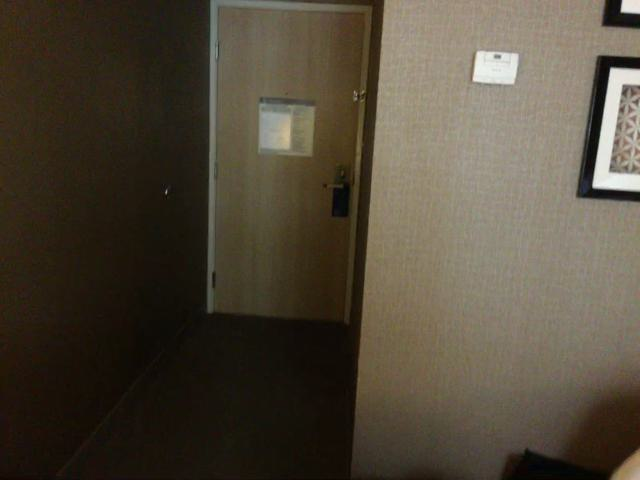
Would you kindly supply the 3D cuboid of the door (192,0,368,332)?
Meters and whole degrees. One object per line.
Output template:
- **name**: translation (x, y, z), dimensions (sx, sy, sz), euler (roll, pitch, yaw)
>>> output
- **door**: translation (-0.270, -0.480, 3.650), dimensions (1.030, 2.070, 0.150), euler (4, 8, 7)
